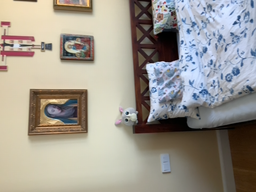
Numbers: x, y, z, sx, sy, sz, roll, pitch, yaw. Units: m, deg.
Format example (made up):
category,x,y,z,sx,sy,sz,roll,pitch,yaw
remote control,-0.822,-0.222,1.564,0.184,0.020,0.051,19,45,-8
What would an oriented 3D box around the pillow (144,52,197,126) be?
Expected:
category,x,y,z,sx,sy,sz,roll,pitch,yaw
pillow,0.360,-0.040,1.900,0.350,0.310,0.590,147,122,-74
